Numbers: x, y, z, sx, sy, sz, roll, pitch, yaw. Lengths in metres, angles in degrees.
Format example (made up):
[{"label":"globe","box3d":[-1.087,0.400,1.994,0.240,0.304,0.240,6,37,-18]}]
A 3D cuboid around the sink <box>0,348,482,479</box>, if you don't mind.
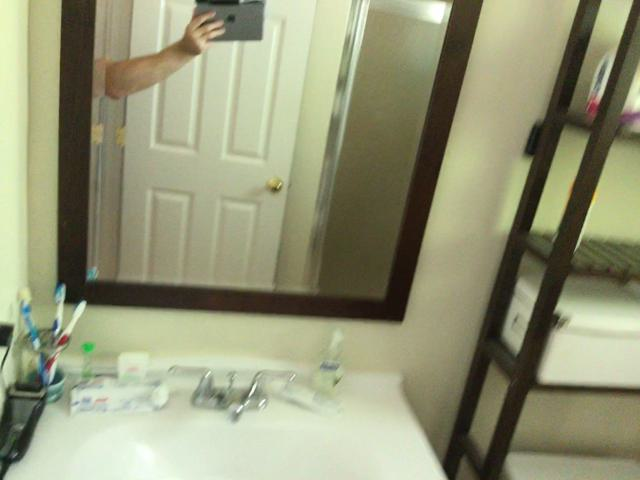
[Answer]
[{"label":"sink","box3d":[-0.150,0.420,1.060,0.810,0.190,0.440,6,19,-13]}]
